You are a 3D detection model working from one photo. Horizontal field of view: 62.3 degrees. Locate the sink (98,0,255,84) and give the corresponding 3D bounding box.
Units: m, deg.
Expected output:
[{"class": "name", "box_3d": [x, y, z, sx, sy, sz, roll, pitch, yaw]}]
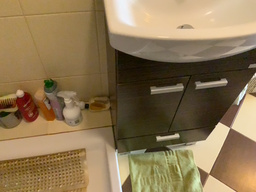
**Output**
[{"class": "sink", "box_3d": [0.190, -0.250, 0.630, 0.530, 0.130, 0.380, -6, 54, -8]}]
